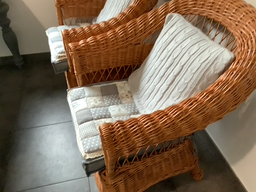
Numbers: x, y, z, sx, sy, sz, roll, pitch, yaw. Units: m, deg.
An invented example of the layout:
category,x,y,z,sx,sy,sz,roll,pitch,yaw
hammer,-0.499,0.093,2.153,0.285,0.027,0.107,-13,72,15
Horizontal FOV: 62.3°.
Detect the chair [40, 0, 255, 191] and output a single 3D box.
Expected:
category,x,y,z,sx,sy,sz,roll,pitch,yaw
chair,0.110,0.020,1.020,0.780,0.850,0.680,-14,43,-17
